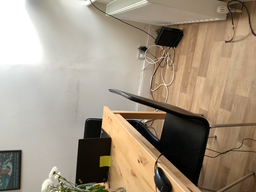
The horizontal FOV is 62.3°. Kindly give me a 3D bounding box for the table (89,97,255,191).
[{"bbox_3d":[0.270,0.560,1.440,1.370,0.730,0.760,-147,63,-64],"label":"table"}]

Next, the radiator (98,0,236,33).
[{"bbox_3d":[0.220,-0.690,1.800,1.050,0.690,0.120,-151,66,-65],"label":"radiator"}]
